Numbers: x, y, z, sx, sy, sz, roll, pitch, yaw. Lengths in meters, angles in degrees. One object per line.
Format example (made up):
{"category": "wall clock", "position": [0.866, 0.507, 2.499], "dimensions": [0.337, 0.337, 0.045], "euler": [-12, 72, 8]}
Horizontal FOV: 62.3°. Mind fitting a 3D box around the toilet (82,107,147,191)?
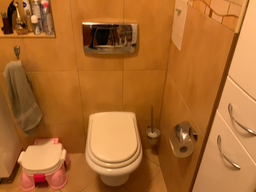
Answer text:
{"category": "toilet", "position": [-0.100, 0.420, 1.510], "dimensions": [0.360, 0.460, 0.520], "euler": [-1, 34, -5]}
